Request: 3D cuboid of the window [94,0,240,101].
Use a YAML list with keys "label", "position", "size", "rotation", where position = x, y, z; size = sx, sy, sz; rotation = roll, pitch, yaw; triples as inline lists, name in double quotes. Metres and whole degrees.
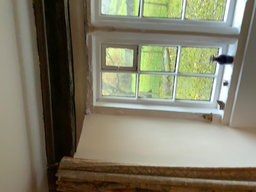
- label: "window"
  position: [0.220, -0.460, 1.370]
  size: [0.130, 0.860, 0.960]
  rotation: [-86, 0, -69]
